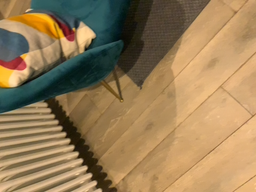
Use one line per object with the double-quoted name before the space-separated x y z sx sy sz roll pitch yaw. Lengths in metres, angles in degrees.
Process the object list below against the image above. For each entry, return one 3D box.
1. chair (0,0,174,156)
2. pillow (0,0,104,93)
"chair" -0.330 -0.290 0.980 0.670 0.740 0.720 24 101 27
"pillow" -0.400 -0.190 0.860 0.390 0.510 0.170 169 120 -72
